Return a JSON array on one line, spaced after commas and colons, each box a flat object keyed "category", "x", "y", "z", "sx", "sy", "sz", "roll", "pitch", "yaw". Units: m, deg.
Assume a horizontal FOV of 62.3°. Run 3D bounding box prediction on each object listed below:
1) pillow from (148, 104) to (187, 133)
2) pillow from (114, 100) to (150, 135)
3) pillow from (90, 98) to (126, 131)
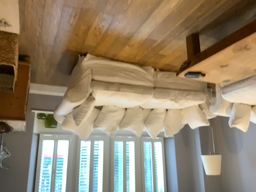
[{"category": "pillow", "x": 0.680, "y": 0.390, "z": 3.670, "sx": 0.520, "sy": 0.430, "sz": 0.280, "roll": 5, "pitch": -172, "yaw": -23}, {"category": "pillow", "x": 0.060, "y": 0.350, "z": 3.440, "sx": 0.430, "sy": 0.510, "sz": 0.210, "roll": 5, "pitch": -161, "yaw": -24}, {"category": "pillow", "x": -0.300, "y": 0.280, "z": 3.190, "sx": 0.460, "sy": 0.430, "sz": 0.210, "roll": 6, "pitch": -177, "yaw": -20}]
